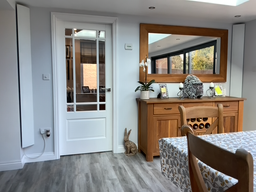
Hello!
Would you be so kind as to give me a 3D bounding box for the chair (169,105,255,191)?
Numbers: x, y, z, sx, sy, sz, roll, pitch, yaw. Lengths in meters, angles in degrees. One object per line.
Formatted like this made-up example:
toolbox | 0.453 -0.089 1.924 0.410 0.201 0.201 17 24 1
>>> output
chair | 0.700 0.590 1.730 0.470 0.950 0.610 -1 6 -15
